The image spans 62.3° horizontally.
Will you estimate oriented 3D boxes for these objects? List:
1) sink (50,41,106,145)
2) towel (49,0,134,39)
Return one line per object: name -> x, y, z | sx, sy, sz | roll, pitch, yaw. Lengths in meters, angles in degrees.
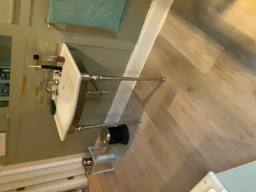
sink -> -0.460, -0.020, 1.780 | 0.500, 0.190, 0.680 | 55, 134, 40
towel -> -0.210, -0.730, 1.480 | 0.060, 0.570, 0.610 | 55, 134, 40
